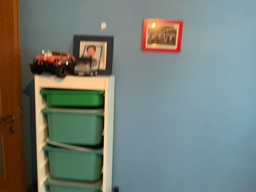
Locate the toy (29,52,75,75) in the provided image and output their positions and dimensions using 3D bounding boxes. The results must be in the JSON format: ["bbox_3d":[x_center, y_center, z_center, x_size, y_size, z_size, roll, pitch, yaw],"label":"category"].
[{"bbox_3d":[-0.500,-0.220,1.450,0.180,0.130,0.350,2,8,1],"label":"toy"}]

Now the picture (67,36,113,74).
[{"bbox_3d":[-0.280,-0.300,1.570,0.330,0.260,0.050,3,8,5],"label":"picture"}]
